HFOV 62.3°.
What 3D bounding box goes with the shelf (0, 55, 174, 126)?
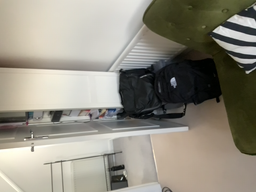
[{"bbox_3d":[-0.570,-0.020,2.030,0.600,1.960,0.430,144,122,-60],"label":"shelf"}]
